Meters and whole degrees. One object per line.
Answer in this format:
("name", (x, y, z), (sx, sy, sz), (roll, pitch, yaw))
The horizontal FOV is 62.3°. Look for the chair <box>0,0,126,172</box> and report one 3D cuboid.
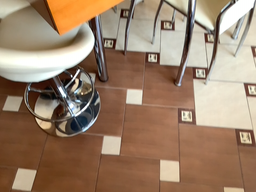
("chair", (-0.380, -0.110, 0.990), (0.460, 0.820, 0.600), (-38, 68, -19))
